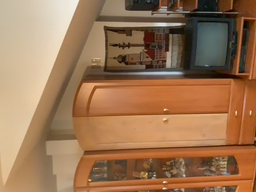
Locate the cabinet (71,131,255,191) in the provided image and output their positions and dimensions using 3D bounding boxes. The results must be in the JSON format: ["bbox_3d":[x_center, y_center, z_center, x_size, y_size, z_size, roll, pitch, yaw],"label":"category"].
[{"bbox_3d":[0.410,0.860,2.430,0.440,1.980,0.720,-120,30,-77],"label":"cabinet"}]

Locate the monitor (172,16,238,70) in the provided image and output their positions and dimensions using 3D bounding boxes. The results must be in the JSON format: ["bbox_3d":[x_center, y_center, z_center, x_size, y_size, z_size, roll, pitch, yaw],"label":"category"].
[{"bbox_3d":[0.790,-0.570,2.300,0.560,0.430,0.490,-113,23,-74],"label":"monitor"}]
